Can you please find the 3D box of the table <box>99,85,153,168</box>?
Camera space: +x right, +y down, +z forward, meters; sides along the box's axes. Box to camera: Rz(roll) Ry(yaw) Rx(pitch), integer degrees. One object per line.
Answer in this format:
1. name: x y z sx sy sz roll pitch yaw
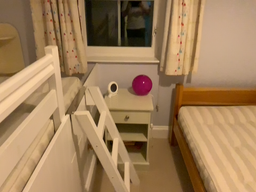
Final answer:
1. table: -0.020 0.290 2.130 0.450 0.670 0.470 1 25 0
